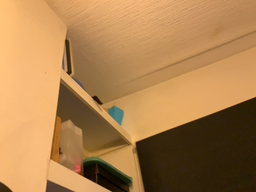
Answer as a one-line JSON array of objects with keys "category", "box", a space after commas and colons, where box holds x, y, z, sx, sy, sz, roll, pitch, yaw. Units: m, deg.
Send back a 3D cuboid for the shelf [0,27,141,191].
[{"category": "shelf", "box": [-0.140, 0.870, 0.460, 0.360, 2.710, 0.640, -22, -44, 13]}]
